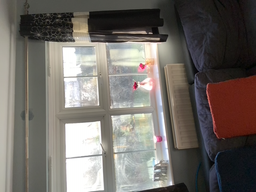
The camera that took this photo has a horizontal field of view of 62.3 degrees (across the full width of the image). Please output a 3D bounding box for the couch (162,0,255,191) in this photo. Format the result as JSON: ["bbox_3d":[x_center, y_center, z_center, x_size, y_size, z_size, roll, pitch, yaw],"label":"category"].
[{"bbox_3d":[0.960,-0.030,1.580,1.070,0.810,2.830,122,143,-74],"label":"couch"}]

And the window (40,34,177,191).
[{"bbox_3d":[-0.230,0.160,2.190,0.170,1.240,1.640,125,141,-75],"label":"window"}]
